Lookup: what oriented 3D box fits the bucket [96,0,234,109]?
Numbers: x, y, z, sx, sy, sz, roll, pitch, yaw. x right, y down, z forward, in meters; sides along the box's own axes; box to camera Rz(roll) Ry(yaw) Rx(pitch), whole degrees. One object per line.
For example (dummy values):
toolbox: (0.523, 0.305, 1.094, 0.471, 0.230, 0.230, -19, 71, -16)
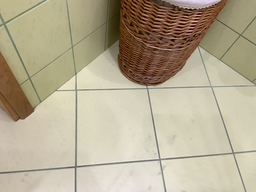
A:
bucket: (0.170, -0.350, 0.900, 0.370, 0.620, 0.480, 37, 63, 10)
